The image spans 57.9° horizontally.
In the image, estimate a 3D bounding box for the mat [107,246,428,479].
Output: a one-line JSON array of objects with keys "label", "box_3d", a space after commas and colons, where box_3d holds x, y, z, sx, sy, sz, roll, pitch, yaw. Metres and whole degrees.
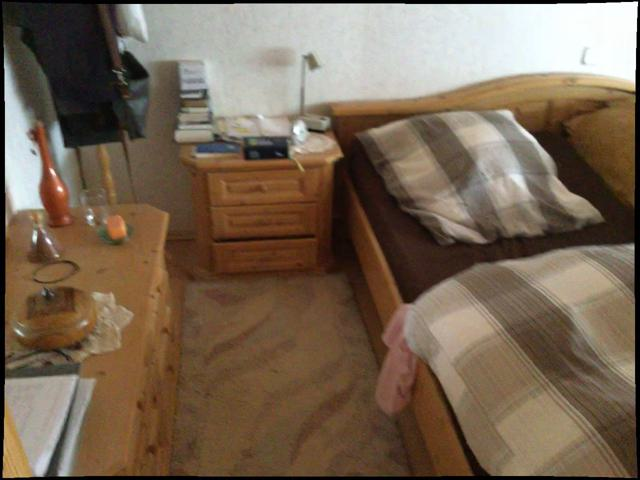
[{"label": "mat", "box_3d": [-0.200, 0.450, 1.970, 0.869, 0.090, 1.320, -4, 34, -6]}]

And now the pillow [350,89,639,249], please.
[{"label": "pillow", "box_3d": [0.599, -0.320, 2.270, 0.829, 0.260, 0.790, -4, 34, -6]}]
